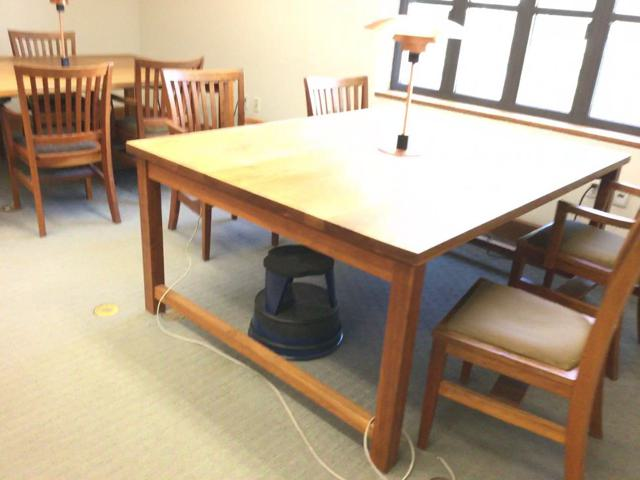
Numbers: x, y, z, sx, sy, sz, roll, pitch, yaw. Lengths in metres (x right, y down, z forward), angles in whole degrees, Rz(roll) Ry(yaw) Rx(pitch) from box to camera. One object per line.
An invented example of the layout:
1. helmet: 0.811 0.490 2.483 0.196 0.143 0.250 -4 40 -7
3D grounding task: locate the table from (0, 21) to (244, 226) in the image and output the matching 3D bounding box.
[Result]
1. table: -1.700 -0.870 3.930 1.400 1.000 1.770 24 23 37

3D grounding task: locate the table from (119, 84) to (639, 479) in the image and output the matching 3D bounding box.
1. table: 0.300 -0.040 2.560 1.400 0.950 1.750 24 23 37
